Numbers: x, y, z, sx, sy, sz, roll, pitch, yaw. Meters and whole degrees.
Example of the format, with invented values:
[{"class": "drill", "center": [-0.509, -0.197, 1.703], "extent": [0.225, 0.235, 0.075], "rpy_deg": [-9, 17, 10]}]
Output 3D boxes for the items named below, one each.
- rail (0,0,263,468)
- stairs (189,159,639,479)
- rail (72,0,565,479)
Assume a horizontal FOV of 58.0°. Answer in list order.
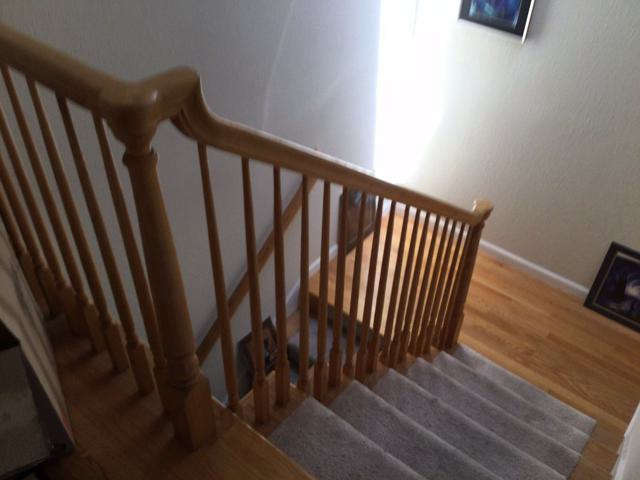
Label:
[{"class": "rail", "center": [-0.660, -0.080, 1.450], "extent": [1.080, 0.980, 0.260], "rpy_deg": [29, 51, 27]}, {"class": "stairs", "center": [0.480, 0.650, 2.030], "extent": [1.080, 1.070, 1.300], "rpy_deg": [29, 51, 27]}, {"class": "rail", "center": [0.210, 0.090, 2.000], "extent": [0.240, 1.950, 1.630], "rpy_deg": [29, 51, 27]}]
